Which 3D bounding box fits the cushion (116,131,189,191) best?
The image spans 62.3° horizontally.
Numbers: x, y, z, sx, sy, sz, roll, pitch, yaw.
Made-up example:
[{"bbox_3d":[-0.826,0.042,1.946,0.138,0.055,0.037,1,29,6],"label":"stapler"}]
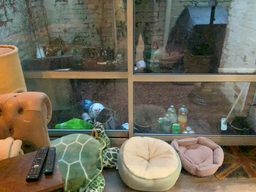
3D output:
[{"bbox_3d":[0.170,0.540,1.770,0.510,0.210,0.520,0,27,0],"label":"cushion"}]
